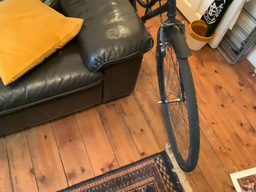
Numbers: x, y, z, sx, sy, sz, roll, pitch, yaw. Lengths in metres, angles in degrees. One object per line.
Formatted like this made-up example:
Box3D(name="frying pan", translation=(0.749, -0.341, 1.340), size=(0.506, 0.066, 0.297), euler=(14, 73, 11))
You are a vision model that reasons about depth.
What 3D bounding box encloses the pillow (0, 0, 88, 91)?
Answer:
Box3D(name="pillow", translation=(-0.550, -0.350, 1.050), size=(0.500, 0.130, 0.470), euler=(42, 63, 17))
